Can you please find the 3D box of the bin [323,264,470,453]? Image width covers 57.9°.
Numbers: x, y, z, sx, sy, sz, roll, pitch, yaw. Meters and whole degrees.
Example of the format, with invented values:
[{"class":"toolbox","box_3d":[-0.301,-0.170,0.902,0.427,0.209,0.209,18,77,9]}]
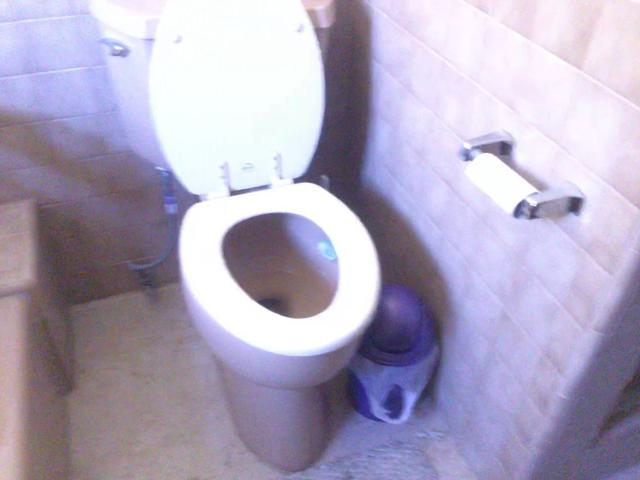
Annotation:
[{"class":"bin","box_3d":[0.150,0.260,1.270,0.220,0.310,0.210,-14,43,-16]}]
